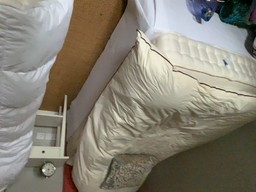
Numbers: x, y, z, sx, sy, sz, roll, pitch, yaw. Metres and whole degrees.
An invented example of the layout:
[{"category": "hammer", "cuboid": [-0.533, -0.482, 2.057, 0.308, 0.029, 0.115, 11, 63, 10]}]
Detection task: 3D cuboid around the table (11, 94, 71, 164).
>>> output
[{"category": "table", "cuboid": [-0.940, 0.380, 2.350, 0.520, 0.670, 0.300, 11, 148, -28]}]
